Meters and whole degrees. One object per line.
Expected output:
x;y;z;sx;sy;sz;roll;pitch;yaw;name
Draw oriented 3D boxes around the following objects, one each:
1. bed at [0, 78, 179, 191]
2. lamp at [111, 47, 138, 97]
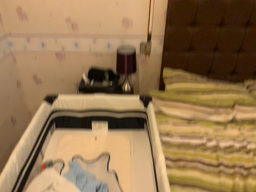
-0.210;0.490;1.220;0.740;0.740;1.120;-1;33;-3;bed
-0.030;-0.190;1.680;0.190;0.350;0.170;1;33;-1;lamp
